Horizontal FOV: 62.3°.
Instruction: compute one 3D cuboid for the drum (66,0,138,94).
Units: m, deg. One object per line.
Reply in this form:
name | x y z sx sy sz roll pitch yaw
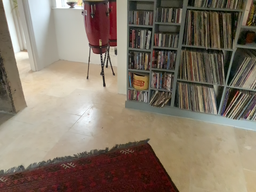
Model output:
drum | -0.330 -0.800 3.180 0.600 1.180 0.900 14 30 21
